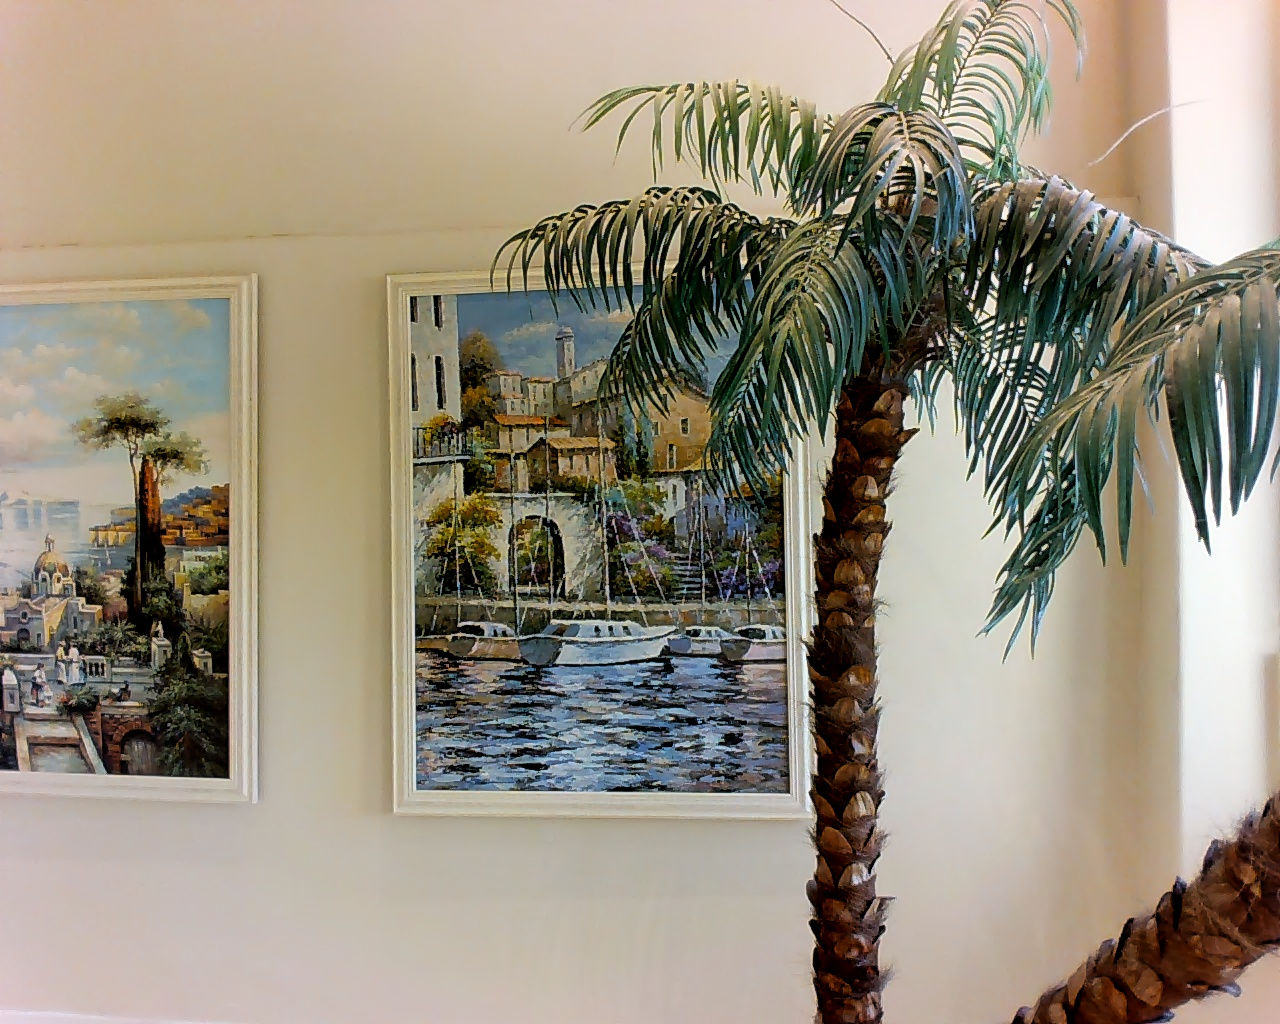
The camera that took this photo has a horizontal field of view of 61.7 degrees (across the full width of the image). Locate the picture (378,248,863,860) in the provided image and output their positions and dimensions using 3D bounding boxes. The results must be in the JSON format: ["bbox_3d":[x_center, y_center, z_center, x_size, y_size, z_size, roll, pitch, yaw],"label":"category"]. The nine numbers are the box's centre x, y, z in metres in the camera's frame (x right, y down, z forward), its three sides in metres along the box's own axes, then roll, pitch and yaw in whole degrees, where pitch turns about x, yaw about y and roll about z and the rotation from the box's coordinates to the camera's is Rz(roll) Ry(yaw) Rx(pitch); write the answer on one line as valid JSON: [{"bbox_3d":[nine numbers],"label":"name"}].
[{"bbox_3d":[-0.060,0.100,2.570,1.150,1.410,0.060,-1,0,7],"label":"picture"}]

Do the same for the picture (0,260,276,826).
[{"bbox_3d":[-1.460,0.080,2.760,1.070,1.410,0.050,-1,0,7],"label":"picture"}]
